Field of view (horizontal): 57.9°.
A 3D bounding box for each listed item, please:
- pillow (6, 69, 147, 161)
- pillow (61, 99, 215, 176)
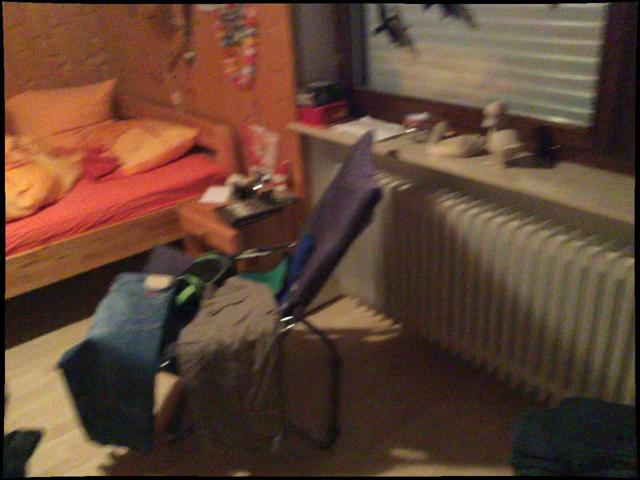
[{"bbox_3d":[-1.429,-0.761,3.420,0.600,0.350,0.440,-23,32,-33],"label":"pillow"},{"bbox_3d":[-0.999,-0.581,3.130,0.510,0.160,0.790,-23,32,-33],"label":"pillow"}]
